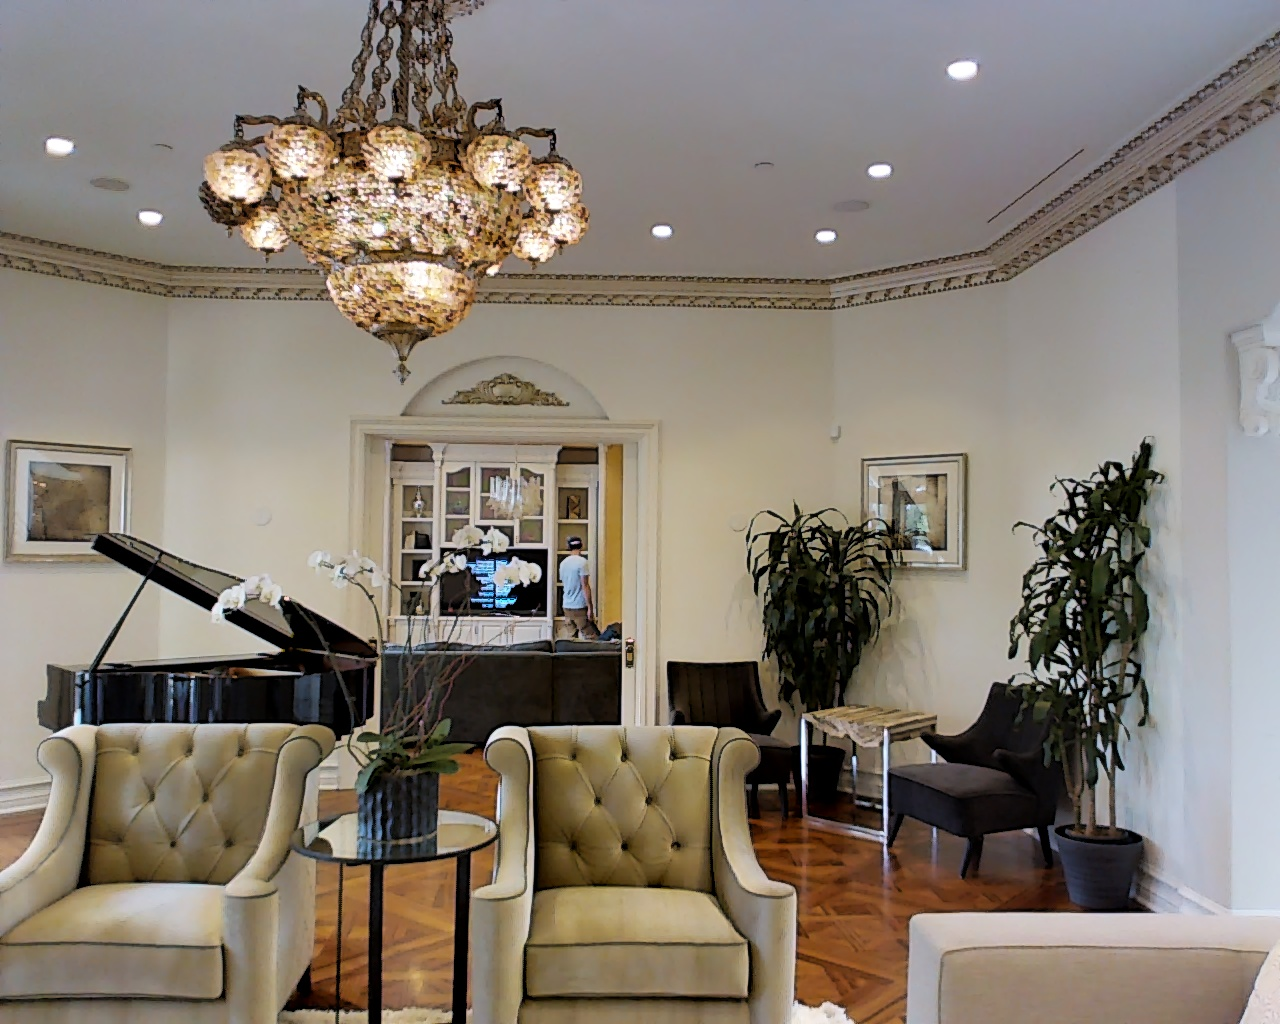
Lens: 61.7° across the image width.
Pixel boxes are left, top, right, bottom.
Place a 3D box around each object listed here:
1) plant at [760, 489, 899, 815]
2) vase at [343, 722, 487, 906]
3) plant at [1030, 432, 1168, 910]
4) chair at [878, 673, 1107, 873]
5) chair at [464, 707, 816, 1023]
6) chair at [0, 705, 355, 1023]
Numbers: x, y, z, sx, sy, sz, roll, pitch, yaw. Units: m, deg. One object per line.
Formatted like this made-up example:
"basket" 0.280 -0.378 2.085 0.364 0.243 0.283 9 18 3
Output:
"plant" 1.290 0.890 7.210 0.850 2.051 0.670 0 -2 15
"vase" -0.740 0.980 3.550 0.300 0.490 0.350 -1 -2 34
"plant" 2.239 0.740 5.280 0.390 2.211 0.600 1 -2 -4
"chair" 1.939 1.400 5.960 0.930 0.890 0.770 1 -2 -21
"chair" -0.020 1.250 3.620 1.030 1.030 0.940 1 -2 -3
"chair" -1.570 1.230 3.570 1.000 1.020 1.000 1 -2 -3
